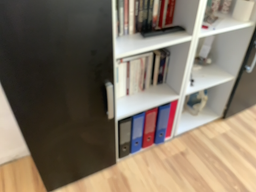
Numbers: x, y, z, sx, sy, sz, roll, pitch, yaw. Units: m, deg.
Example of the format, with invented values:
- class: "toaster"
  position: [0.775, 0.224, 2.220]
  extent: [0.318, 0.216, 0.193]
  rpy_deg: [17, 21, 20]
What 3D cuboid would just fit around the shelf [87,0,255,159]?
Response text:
- class: "shelf"
  position: [0.230, -0.200, 1.190]
  extent: [0.790, 1.030, 0.280]
  rpy_deg: [-17, 44, -21]
